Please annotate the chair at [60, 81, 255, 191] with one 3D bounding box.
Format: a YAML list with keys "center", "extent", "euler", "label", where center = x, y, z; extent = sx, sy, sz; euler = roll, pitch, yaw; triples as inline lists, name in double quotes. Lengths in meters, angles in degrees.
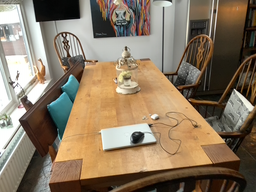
- center: [0.100, 0.590, 0.970]
  extent: [0.540, 1.130, 0.610]
  euler: [-7, 24, -8]
  label: "chair"

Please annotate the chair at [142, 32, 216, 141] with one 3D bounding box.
- center: [0.570, -0.140, 2.590]
  extent: [0.610, 1.130, 0.560]
  euler: [-10, 24, -16]
  label: "chair"
